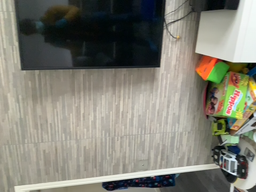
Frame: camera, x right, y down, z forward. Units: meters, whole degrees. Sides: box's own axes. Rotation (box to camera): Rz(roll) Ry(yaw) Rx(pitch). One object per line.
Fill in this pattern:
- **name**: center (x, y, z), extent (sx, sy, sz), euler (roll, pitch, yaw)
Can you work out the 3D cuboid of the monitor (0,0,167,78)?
- **monitor**: center (-0.140, -0.880, 1.080), extent (0.040, 0.870, 1.500), euler (-127, 46, -68)
